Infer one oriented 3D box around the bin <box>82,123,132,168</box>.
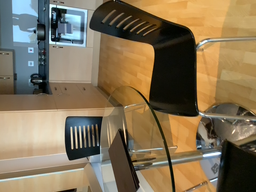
[{"bbox_3d":[-0.270,0.590,2.630,0.370,0.500,0.360,-143,56,-60],"label":"bin"}]
